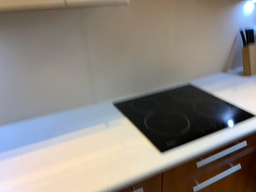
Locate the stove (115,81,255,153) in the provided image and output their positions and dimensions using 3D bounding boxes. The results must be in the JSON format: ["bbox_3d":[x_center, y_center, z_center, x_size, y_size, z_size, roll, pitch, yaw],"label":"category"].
[{"bbox_3d":[0.350,0.070,1.250,0.730,0.040,0.450,-14,28,-23],"label":"stove"}]
